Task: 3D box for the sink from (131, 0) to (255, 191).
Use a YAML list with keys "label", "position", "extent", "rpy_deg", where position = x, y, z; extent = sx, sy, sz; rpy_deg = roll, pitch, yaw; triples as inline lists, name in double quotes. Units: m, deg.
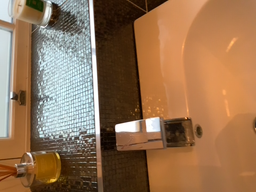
- label: "sink"
  position: [0.260, 0.050, 0.440]
  extent: [0.450, 0.170, 0.660]
  rpy_deg: [-16, 74, 40]
